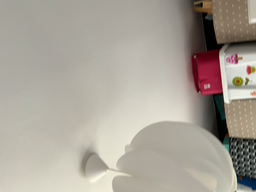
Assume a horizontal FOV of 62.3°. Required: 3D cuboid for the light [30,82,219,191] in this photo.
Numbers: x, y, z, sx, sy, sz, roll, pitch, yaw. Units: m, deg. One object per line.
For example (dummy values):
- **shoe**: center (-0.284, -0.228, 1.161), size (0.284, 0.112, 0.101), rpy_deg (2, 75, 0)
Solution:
- **light**: center (0.070, 0.310, 0.740), size (0.350, 0.400, 0.580), rpy_deg (5, -48, 34)
